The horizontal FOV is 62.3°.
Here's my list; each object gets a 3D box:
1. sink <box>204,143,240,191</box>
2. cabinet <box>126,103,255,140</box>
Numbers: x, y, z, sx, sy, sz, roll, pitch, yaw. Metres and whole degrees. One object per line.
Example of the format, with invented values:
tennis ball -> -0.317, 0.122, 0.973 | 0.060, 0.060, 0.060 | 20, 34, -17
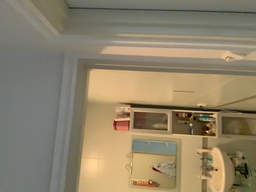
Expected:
sink -> 1.050, 0.840, 2.410 | 0.470, 0.220, 0.540 | 66, -153, -81
cabinet -> 0.910, 0.320, 2.570 | 0.310, 1.840, 0.320 | 66, -153, -81
